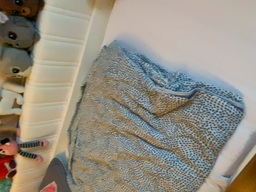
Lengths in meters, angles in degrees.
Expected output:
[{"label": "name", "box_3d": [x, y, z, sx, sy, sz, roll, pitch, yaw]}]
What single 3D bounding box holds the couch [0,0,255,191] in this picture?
[{"label": "couch", "box_3d": [-0.030, 0.270, 1.170, 1.010, 0.790, 2.050, 41, 120, 34]}]
